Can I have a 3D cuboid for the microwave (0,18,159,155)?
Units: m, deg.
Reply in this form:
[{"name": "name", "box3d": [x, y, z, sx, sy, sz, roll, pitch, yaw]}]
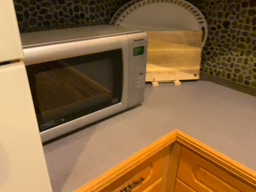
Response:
[{"name": "microwave", "box3d": [-0.200, -0.100, 0.790, 0.490, 0.290, 0.370, -20, 35, -36]}]
